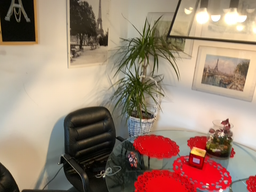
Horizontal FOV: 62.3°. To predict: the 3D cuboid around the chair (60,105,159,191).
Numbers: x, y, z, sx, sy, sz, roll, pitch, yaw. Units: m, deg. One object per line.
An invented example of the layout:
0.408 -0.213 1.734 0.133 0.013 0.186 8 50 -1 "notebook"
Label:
-0.200 0.640 1.790 0.490 0.910 0.660 -9 21 -38 "chair"
